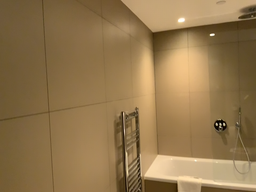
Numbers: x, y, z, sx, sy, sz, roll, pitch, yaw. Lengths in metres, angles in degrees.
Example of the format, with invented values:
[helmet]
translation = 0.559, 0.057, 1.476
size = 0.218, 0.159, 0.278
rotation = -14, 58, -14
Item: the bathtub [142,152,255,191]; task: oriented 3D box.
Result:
[bathtub]
translation = 1.080, 1.120, 2.470
size = 1.660, 0.600, 0.740
rotation = -2, 3, 20
